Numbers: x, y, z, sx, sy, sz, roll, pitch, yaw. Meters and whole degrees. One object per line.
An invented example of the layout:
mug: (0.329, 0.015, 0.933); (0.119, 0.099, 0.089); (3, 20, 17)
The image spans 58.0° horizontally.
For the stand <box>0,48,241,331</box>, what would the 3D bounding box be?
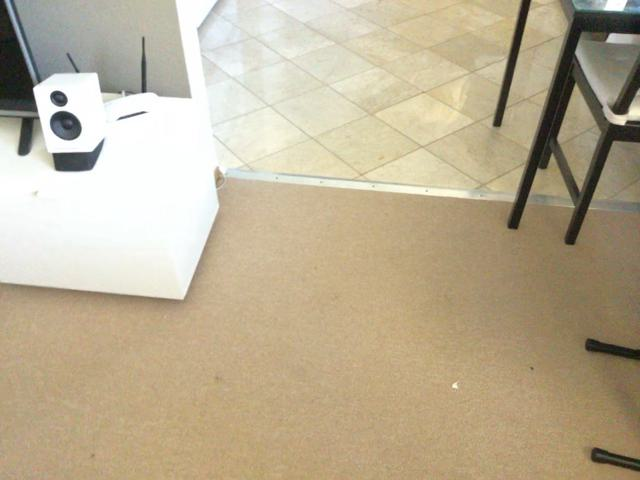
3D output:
stand: (-1.080, -0.210, 1.730); (1.530, 0.540, 0.520); (7, 43, 10)
